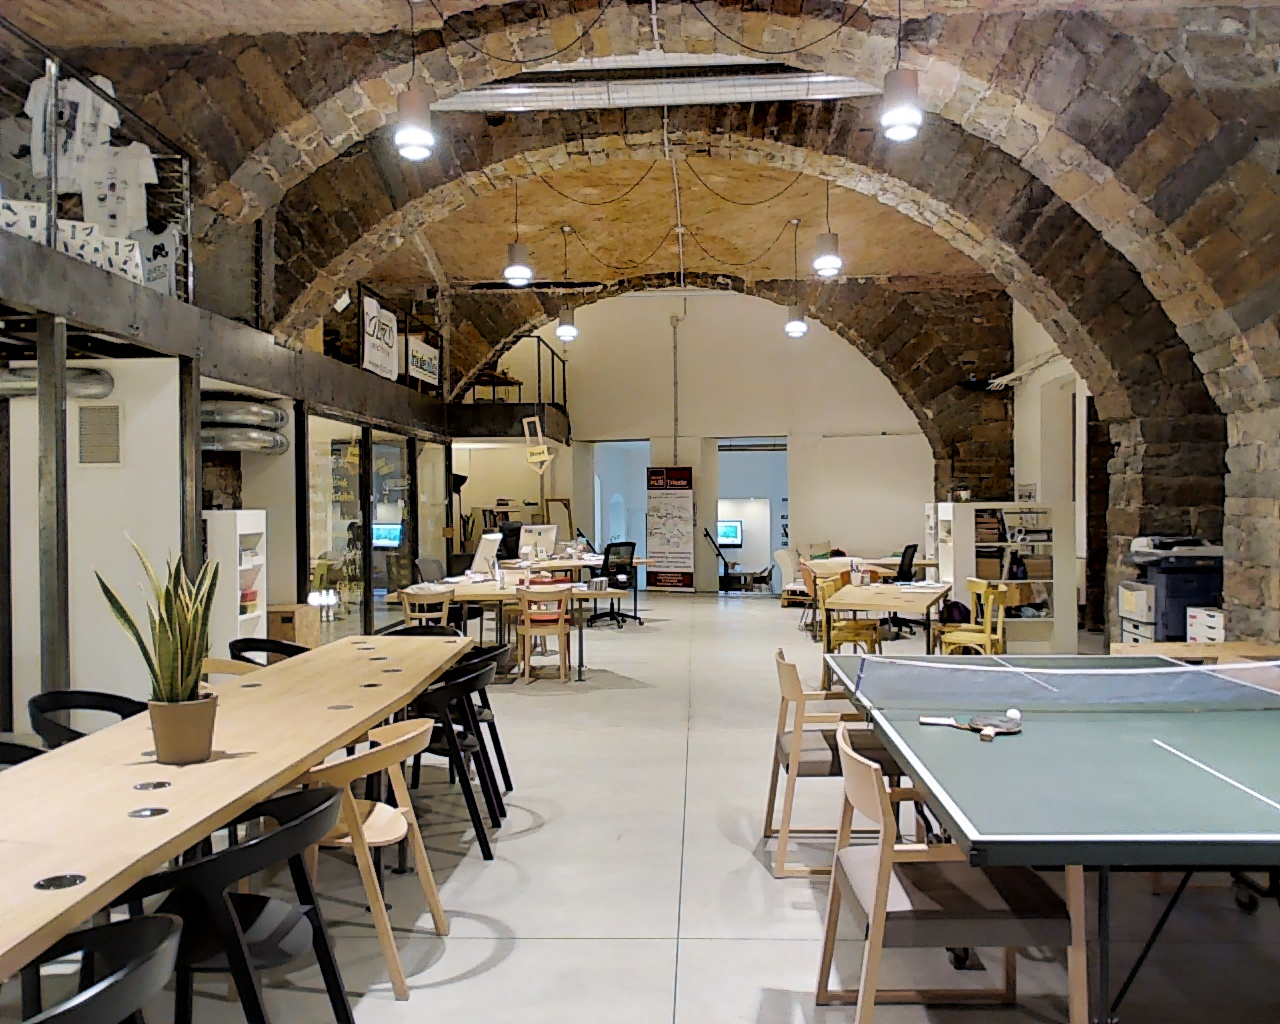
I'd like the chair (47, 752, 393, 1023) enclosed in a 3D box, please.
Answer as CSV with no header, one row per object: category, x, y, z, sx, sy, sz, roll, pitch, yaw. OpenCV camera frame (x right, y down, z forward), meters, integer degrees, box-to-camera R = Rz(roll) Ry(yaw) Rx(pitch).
chair,-0.960,1.040,2.590,0.540,0.770,0.660,0,0,4

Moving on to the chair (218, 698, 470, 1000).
chair,-0.930,1.050,3.500,0.620,0.780,0.610,0,0,4
